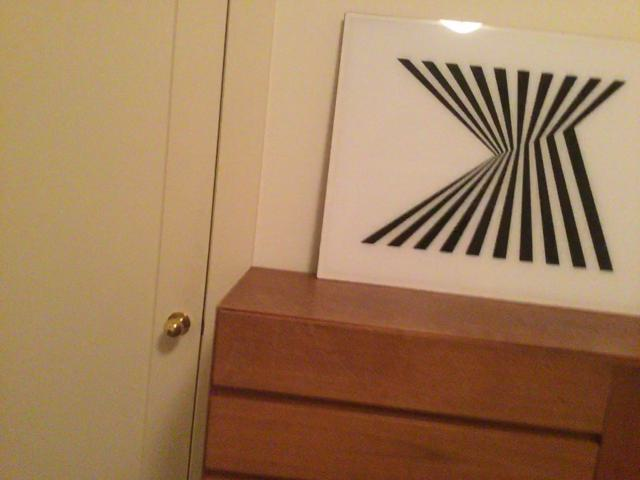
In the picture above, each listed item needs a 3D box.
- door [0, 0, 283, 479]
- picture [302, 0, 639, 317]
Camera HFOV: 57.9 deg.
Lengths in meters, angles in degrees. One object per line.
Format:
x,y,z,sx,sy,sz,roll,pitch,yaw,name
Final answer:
-0.660,0.060,1.510,1.010,2.010,0.150,5,5,1,door
0.410,-0.200,1.420,0.850,0.700,0.120,5,5,1,picture
